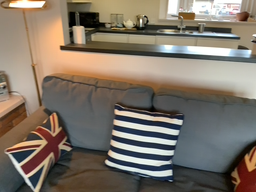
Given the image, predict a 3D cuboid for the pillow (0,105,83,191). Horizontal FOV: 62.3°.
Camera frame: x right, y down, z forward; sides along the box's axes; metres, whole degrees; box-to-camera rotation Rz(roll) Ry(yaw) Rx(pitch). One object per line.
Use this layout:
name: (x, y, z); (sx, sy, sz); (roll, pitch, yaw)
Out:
pillow: (-0.480, 0.310, 1.210); (0.150, 0.330, 0.460); (31, 27, 2)

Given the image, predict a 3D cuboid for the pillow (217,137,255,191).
pillow: (0.600, 0.400, 1.070); (0.120, 0.250, 0.280); (31, 27, 2)

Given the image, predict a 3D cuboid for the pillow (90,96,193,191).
pillow: (0.070, 0.280, 1.230); (0.450, 0.370, 0.140); (30, 27, -2)
